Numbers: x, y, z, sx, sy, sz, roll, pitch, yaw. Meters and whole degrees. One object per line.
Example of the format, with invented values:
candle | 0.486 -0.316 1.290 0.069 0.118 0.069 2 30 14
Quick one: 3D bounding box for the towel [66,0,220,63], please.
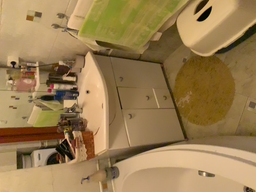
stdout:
towel | 0.080 -0.500 1.430 0.660 0.810 0.130 -42 55 49
